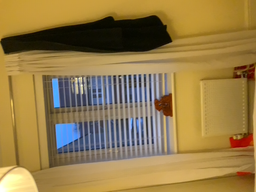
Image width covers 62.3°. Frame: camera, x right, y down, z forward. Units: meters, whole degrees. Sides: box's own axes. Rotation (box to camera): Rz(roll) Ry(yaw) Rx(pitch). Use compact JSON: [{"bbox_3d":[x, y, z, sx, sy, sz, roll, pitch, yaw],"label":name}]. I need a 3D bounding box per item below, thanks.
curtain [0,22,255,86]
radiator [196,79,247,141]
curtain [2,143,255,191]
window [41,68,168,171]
[{"bbox_3d":[0.140,-0.360,1.760,0.190,2.220,0.410,-152,58,-80],"label":"curtain"},{"bbox_3d":[0.840,0.120,1.900,0.070,0.430,0.520,-165,71,-81],"label":"radiator"},{"bbox_3d":[0.160,0.670,1.780,0.200,2.160,0.280,-165,71,-81],"label":"curtain"},{"bbox_3d":[-0.180,0.200,1.970,0.070,1.100,0.860,-152,58,-80],"label":"window"}]
